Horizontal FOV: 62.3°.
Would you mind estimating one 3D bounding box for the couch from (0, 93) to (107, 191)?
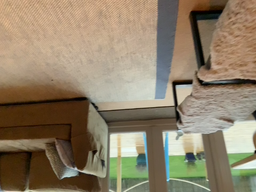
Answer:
[{"bbox_3d":[-1.190,0.630,2.460,1.690,0.870,0.930,-5,156,8],"label":"couch"}]
